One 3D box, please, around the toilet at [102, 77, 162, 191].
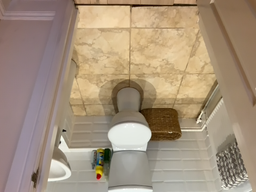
[{"bbox_3d":[0.000,0.350,1.890,0.390,0.790,0.680,0,146,-3],"label":"toilet"}]
